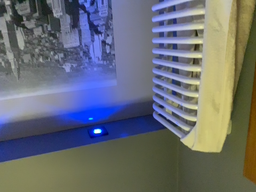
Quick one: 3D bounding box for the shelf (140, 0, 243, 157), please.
[{"bbox_3d":[0.210,-0.260,0.860,0.180,0.850,0.440,-7,-164,-15],"label":"shelf"}]
